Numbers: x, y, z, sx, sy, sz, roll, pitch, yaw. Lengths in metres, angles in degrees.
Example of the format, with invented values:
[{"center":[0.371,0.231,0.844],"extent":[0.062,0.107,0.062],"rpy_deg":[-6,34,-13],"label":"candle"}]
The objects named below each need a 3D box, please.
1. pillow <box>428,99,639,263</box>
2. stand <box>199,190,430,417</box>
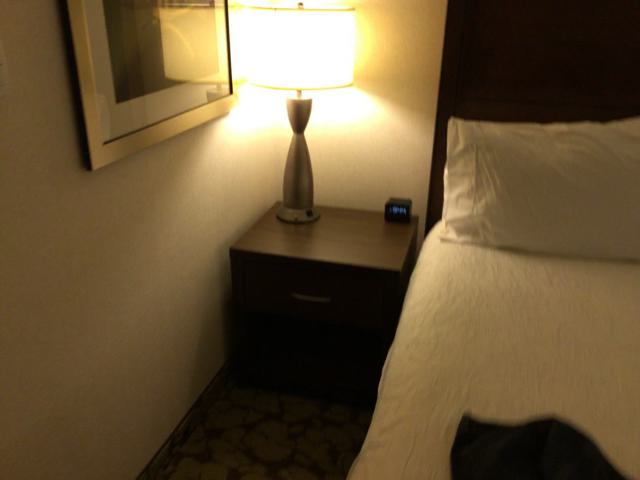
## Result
[{"center":[0.790,-0.200,1.800],"extent":[0.830,0.380,0.430],"rpy_deg":[2,24,19],"label":"pillow"},{"center":[0.030,0.200,2.250],"extent":[0.690,0.620,0.590],"rpy_deg":[2,24,19],"label":"stand"}]
